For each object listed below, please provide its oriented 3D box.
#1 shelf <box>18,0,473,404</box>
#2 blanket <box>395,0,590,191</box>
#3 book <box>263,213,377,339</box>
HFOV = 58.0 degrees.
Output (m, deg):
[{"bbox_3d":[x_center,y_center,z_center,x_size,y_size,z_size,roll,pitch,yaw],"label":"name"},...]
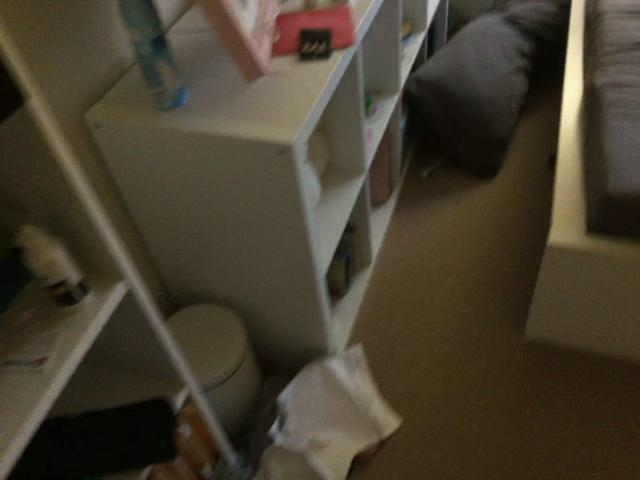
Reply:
[{"bbox_3d":[0.070,-0.500,1.610,0.420,0.890,1.560,10,50,21],"label":"shelf"},{"bbox_3d":[0.650,-0.710,2.000,0.360,0.430,1.060,16,53,25],"label":"blanket"},{"bbox_3d":[0.010,0.090,1.520,0.200,0.170,0.250,10,50,21],"label":"book"}]
